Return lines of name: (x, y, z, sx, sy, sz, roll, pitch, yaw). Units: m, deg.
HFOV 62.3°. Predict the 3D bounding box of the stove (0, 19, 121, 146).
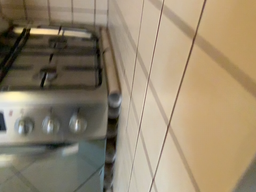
stove: (-0.390, -0.100, 0.770, 0.640, 0.170, 0.580, -1, 36, -11)
